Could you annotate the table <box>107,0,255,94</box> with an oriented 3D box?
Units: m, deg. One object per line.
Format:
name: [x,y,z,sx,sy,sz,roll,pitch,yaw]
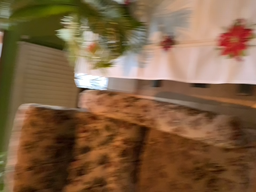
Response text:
table: [0.370,-0.320,1.090,0.790,0.520,0.540,8,92,46]

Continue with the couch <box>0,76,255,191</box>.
couch: [0.030,0.380,1.040,0.880,0.970,0.730,15,97,46]
